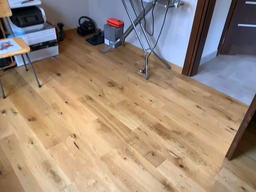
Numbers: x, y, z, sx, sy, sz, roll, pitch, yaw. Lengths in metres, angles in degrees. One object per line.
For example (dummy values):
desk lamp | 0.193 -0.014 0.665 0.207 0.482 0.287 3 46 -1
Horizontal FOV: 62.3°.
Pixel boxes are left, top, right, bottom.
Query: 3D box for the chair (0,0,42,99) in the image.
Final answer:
chair | -1.220 -0.480 2.120 0.380 0.820 0.480 -24 44 -31
